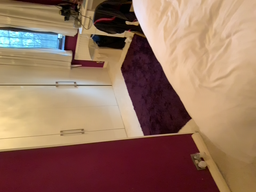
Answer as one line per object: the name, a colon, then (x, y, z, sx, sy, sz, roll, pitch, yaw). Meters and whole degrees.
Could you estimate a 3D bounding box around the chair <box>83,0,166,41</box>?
chair: (-0.070, -1.090, 2.610, 0.460, 0.800, 0.580, 117, 143, -47)
